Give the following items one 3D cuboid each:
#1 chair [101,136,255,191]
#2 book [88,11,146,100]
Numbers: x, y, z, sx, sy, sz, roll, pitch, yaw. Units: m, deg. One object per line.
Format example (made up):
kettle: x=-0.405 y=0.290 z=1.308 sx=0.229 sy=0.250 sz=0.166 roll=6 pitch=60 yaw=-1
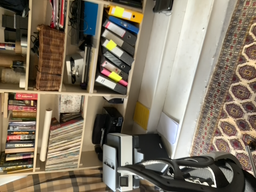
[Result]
chair: x=0.460 y=0.620 z=1.150 sx=0.690 sy=1.050 sz=0.660 roll=179 pitch=94 yaw=-65
book: x=-0.140 y=-0.400 z=2.080 sx=0.480 sy=0.300 sz=0.750 roll=-140 pitch=57 yaw=-60
